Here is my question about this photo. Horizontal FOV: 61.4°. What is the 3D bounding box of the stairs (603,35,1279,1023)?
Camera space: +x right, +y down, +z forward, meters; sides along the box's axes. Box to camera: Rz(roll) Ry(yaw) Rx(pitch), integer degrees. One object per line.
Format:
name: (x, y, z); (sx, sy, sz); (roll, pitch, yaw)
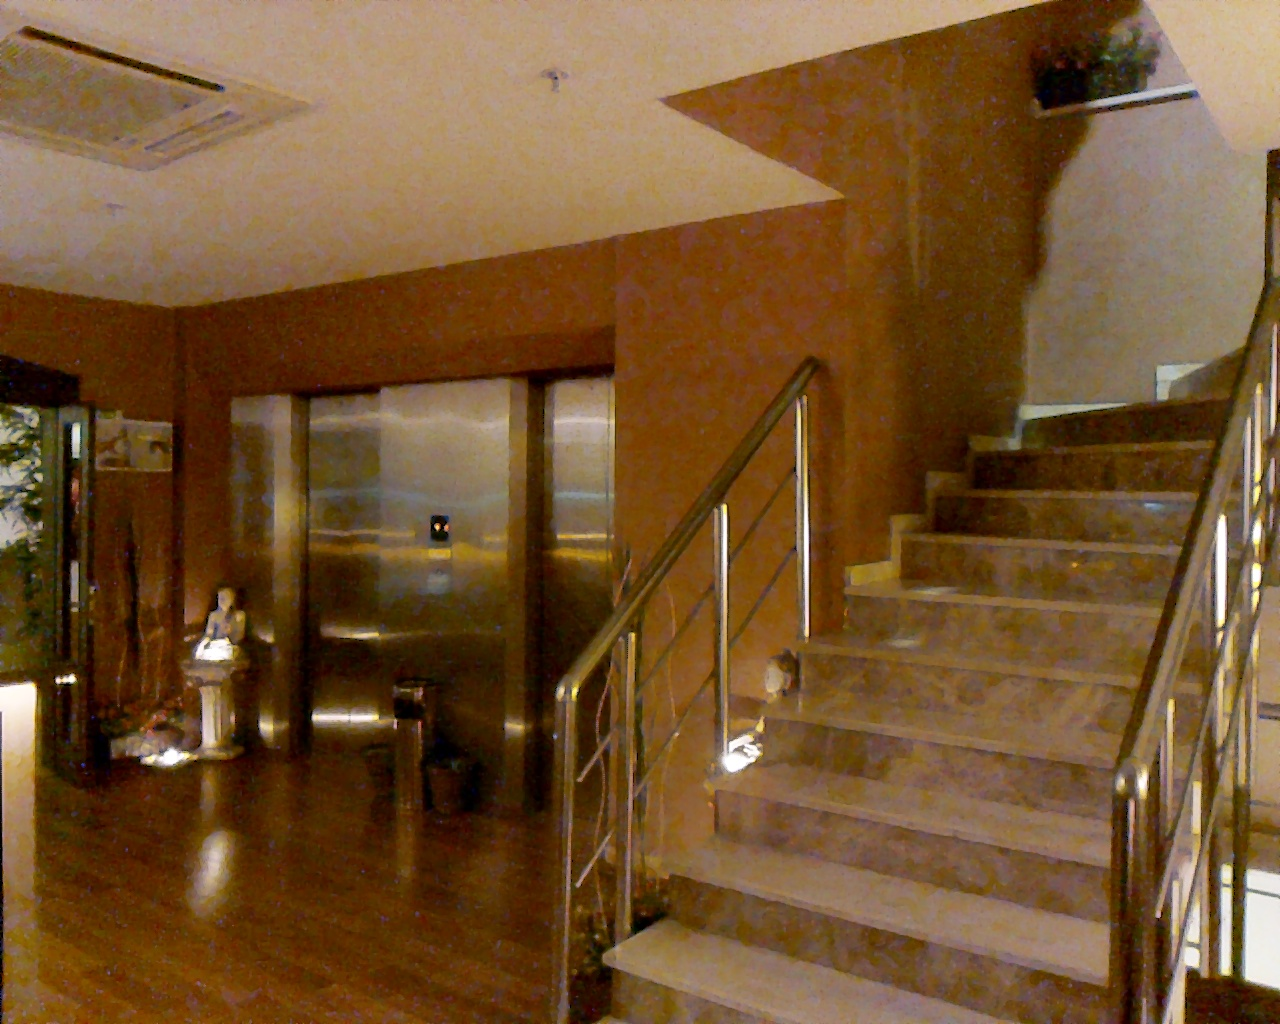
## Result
stairs: (1.500, 0.210, 3.810); (1.420, 2.230, 3.380); (1, 0, 37)

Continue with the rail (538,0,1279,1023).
rail: (0.910, 0.010, 3.110); (1.480, 3.131, 1.900); (1, 0, 37)
